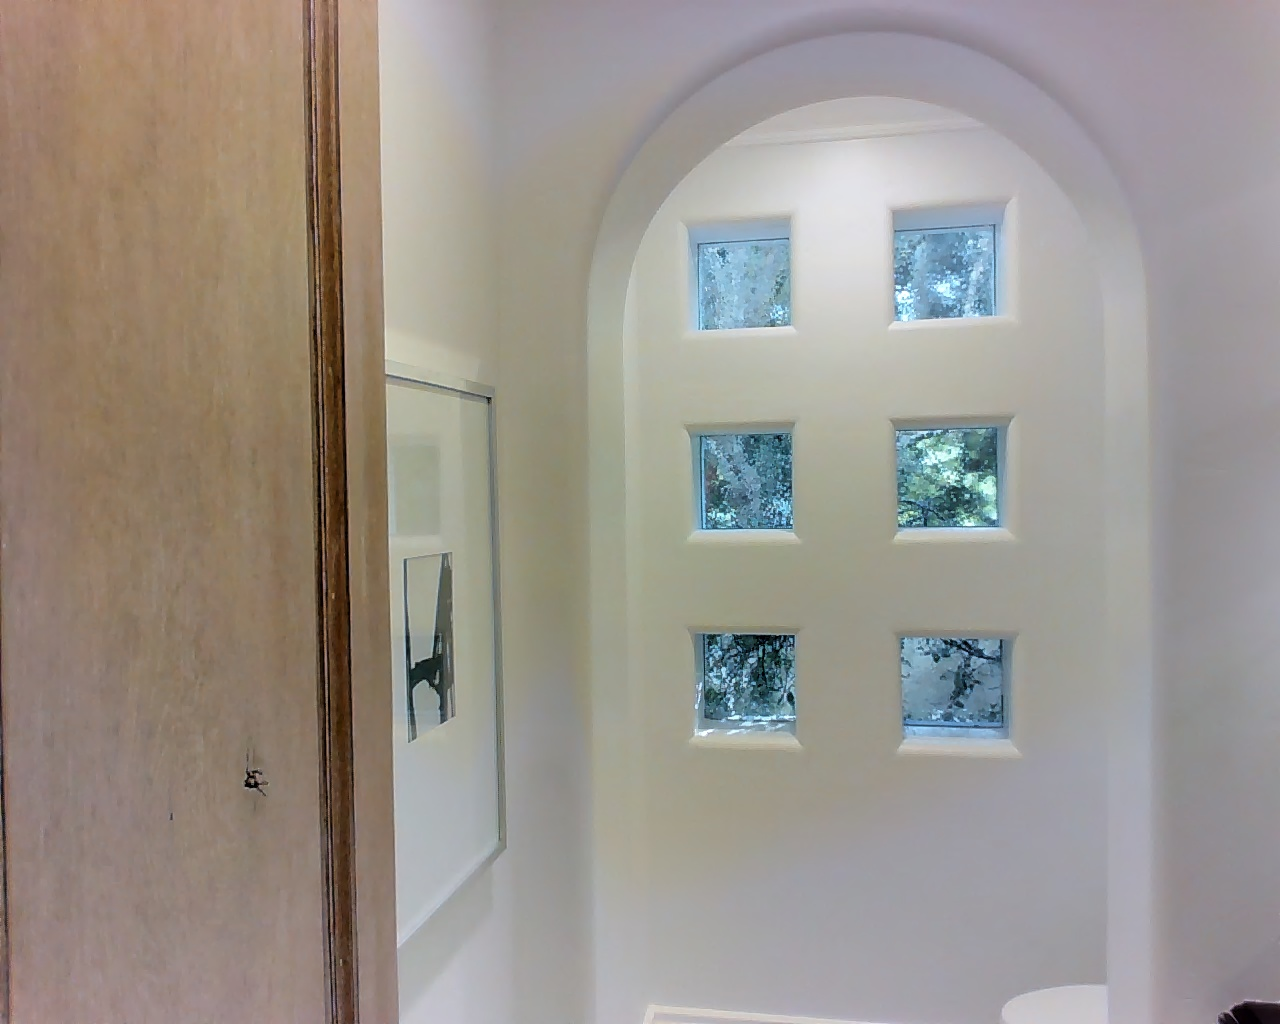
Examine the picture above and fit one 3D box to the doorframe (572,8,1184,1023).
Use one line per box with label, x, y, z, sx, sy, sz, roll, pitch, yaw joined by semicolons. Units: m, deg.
doorframe;0.430;0.360;2.030;1.020;2.361;0.290;-1;1;12
